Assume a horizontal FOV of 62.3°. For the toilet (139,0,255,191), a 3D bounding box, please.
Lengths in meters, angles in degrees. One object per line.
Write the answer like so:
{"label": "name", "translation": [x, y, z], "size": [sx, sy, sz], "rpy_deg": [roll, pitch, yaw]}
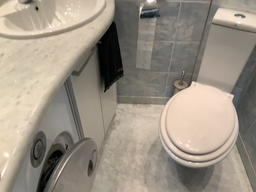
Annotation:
{"label": "toilet", "translation": [0.430, 0.060, 1.180], "size": [0.420, 0.850, 0.710], "rpy_deg": [22, 48, 20]}

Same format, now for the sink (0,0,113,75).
{"label": "sink", "translation": [-0.340, -0.360, 0.990], "size": [0.470, 0.170, 0.590], "rpy_deg": [3, 44, 2]}
